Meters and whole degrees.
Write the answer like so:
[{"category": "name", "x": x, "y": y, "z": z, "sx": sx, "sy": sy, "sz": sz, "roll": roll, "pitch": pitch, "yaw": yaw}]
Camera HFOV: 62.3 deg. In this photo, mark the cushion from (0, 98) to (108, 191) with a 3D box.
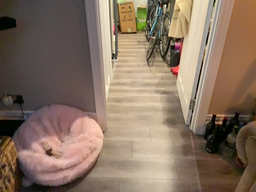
[{"category": "cushion", "x": -0.570, "y": 0.330, "z": 1.630, "sx": 0.730, "sy": 0.310, "sz": 0.640, "roll": 2, "pitch": 33, "yaw": 2}]
